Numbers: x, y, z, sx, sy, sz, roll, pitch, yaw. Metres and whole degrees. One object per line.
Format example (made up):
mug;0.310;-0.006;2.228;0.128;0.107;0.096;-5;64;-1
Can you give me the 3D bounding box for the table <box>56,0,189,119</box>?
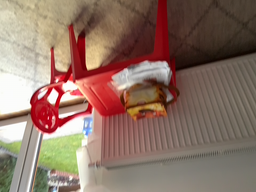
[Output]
table;0.000;-0.200;1.300;0.620;0.400;0.500;-12;145;13
